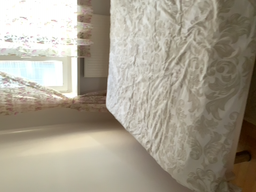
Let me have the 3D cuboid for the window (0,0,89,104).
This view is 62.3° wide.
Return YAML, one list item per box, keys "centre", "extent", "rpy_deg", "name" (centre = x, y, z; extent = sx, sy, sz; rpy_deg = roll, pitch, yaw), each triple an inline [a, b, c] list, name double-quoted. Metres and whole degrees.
- centre: [-1.390, -0.680, 2.590]
  extent: [0.330, 1.750, 1.500]
  rpy_deg: [-145, 55, -60]
  name: "window"

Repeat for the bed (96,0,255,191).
- centre: [0.270, -0.690, 1.820]
  extent: [1.830, 0.560, 2.250]
  rpy_deg: [-147, 57, -61]
  name: "bed"
